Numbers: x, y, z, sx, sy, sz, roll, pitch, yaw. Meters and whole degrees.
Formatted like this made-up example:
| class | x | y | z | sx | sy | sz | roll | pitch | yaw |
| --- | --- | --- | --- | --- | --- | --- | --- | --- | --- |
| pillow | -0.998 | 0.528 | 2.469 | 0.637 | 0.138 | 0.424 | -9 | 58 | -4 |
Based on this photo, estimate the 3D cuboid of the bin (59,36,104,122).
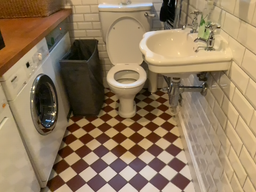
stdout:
| class | x | y | z | sx | sy | sz | roll | pitch | yaw |
| --- | --- | --- | --- | --- | --- | --- | --- | --- | --- |
| bin | -0.410 | -0.190 | 2.080 | 0.240 | 0.600 | 0.650 | -1 | 33 | 0 |
